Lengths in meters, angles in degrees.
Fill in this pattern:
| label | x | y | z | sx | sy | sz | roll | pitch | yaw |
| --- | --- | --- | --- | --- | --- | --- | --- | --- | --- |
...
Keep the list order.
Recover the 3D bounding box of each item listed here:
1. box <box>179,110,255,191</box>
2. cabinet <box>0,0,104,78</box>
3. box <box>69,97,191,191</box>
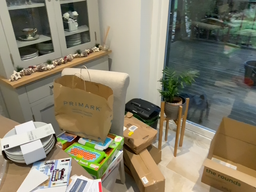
| label | x | y | z | sx | sy | sz | roll | pitch | yaw |
| --- | --- | --- | --- | --- | --- | --- | --- | --- | --- |
| box | 0.830 | 0.490 | 1.710 | 0.540 | 0.330 | 0.680 | 22 | 36 | 33 |
| cabinet | -0.650 | -0.820 | 1.660 | 0.320 | 1.050 | 0.930 | 20 | 35 | 31 |
| box | -0.020 | 0.420 | 1.860 | 0.940 | 0.380 | 0.480 | 25 | 38 | 37 |
